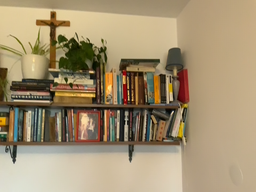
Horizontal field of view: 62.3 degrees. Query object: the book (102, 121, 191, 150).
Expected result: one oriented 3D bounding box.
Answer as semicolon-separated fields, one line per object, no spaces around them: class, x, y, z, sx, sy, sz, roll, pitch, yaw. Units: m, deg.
book;0.130;0.290;1.580;0.630;0.190;0.190;2;-9;-11
